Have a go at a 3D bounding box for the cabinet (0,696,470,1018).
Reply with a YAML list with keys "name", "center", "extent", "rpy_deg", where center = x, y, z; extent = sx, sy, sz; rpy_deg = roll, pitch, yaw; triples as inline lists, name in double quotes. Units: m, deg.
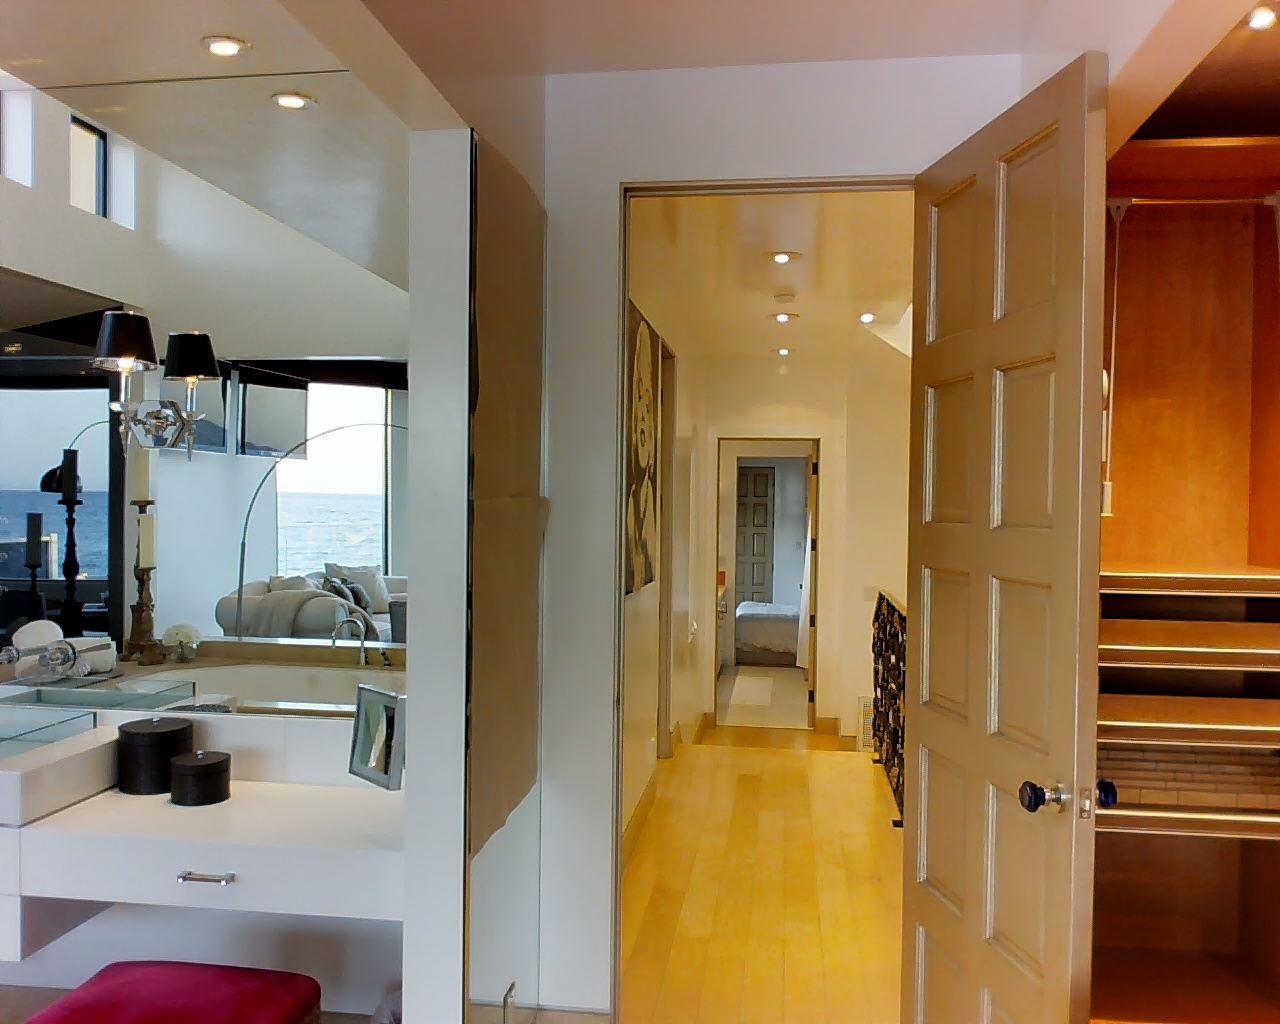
- name: "cabinet"
  center: [-1.929, 0.800, 2.770]
  extent: [2.919, 0.570, 0.510]
  rpy_deg: [0, 1, 7]
